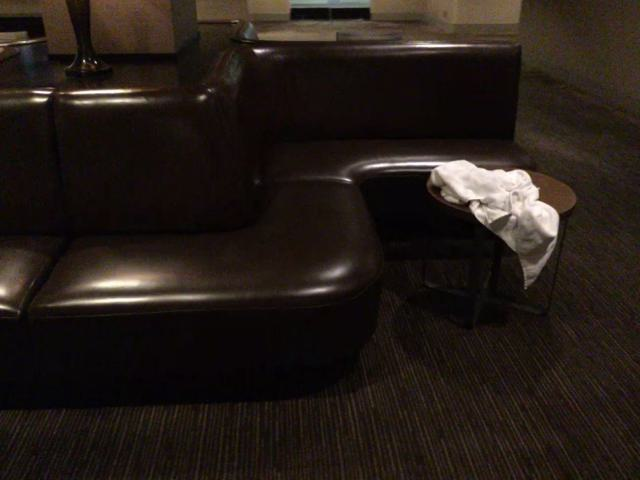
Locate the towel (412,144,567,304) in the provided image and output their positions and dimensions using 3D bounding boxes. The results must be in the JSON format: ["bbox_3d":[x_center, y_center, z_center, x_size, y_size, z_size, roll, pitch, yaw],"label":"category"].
[{"bbox_3d":[0.600,-0.080,2.190,0.380,0.390,0.530,-3,29,-2],"label":"towel"}]
